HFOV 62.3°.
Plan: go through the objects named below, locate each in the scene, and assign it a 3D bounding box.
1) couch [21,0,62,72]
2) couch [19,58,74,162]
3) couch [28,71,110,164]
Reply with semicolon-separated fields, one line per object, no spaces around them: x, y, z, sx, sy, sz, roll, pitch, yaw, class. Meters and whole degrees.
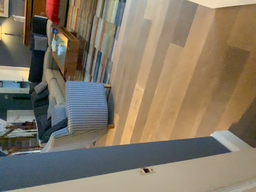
-2.380;-1.940;5.740;1.130;0.750;2.280;45;126;51;couch
-2.280;0.090;5.480;3.320;0.760;1.110;44;126;51;couch
-0.970;0.380;3.190;1.220;0.820;0.930;-43;53;50;couch
